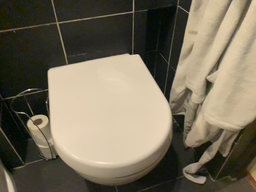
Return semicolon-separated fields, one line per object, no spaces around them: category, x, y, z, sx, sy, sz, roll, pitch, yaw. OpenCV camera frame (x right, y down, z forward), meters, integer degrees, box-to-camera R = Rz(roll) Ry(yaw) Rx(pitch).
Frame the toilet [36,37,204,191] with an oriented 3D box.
toilet;-0.080;0.080;0.800;0.380;0.300;0.560;-16;46;-16

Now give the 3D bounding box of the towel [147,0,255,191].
towel;0.330;-0.010;0.800;0.300;0.870;0.450;-14;46;-14
